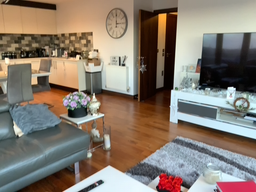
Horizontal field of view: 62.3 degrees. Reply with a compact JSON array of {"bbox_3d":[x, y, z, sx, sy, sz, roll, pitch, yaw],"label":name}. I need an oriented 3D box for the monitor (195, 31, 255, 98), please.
[{"bbox_3d":[1.650,-0.430,2.930,1.420,0.880,0.060,12,18,40],"label":"monitor"}]

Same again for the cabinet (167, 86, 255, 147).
[{"bbox_3d":[1.600,0.300,3.050,2.100,0.570,0.460,12,18,40],"label":"cabinet"}]
